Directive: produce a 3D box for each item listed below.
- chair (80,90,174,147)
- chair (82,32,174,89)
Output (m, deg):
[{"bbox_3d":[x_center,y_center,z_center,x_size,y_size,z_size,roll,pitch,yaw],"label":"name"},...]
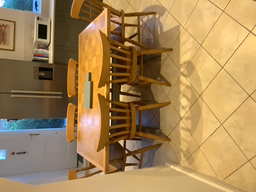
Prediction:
[{"bbox_3d":[-0.020,0.200,2.230,0.540,0.810,0.480,6,93,61],"label":"chair"},{"bbox_3d":[-0.010,-0.320,2.230,0.500,0.800,0.440,6,93,61],"label":"chair"}]
